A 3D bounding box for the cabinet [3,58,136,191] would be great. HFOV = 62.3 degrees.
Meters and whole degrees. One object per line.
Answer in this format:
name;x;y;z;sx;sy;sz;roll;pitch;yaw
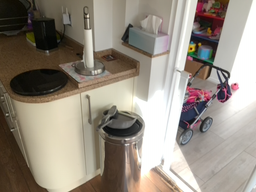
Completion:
cabinet;-0.350;0.260;1.540;0.740;0.890;0.300;-20;38;-33
